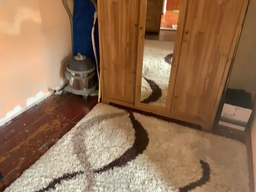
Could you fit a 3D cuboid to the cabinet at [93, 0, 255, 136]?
[{"bbox_3d":[0.390,-0.700,2.100,1.300,1.890,0.630,15,33,17],"label":"cabinet"}]
